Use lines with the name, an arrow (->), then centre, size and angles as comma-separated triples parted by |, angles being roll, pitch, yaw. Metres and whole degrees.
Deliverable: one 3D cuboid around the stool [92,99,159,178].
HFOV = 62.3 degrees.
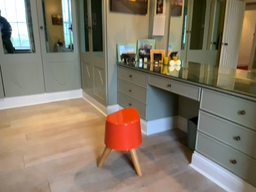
stool -> 0.000, 0.330, 1.870 | 0.410, 0.440, 0.510 | 7, 18, 20
